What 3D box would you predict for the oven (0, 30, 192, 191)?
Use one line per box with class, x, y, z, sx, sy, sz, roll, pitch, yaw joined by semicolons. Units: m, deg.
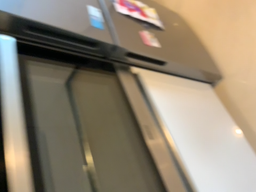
oven;-0.290;0.230;0.710;0.590;0.600;0.540;-46;53;35
